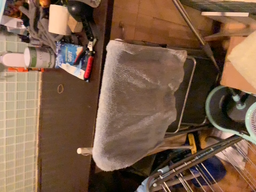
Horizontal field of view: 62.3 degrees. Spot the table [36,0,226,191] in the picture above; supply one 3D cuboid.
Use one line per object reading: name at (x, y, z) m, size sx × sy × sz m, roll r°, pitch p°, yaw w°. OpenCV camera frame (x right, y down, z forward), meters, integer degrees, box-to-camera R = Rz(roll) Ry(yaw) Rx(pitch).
table at (-0.040, 0.280, 1.380) m, size 0.540 × 0.890 × 1.770 m, roll 23°, pitch 110°, yaw 46°
